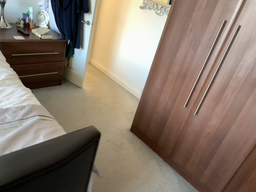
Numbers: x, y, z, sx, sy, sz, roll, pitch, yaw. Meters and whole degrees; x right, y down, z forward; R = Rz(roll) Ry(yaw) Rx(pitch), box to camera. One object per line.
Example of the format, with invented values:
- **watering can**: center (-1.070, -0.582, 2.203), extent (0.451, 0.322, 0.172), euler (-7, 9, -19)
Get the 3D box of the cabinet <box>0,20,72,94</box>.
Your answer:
- **cabinet**: center (-1.170, -0.490, 2.510), extent (0.700, 0.590, 0.620), euler (-15, 42, -44)
